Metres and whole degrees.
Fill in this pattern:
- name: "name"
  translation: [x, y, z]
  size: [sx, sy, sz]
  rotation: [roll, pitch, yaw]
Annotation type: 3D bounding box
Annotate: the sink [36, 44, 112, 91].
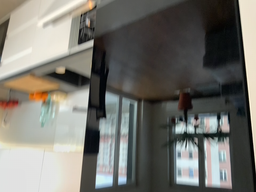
- name: "sink"
  translation: [-0.460, -0.220, 1.870]
  size: [0.400, 0.180, 0.490]
  rotation: [-9, 162, 36]
